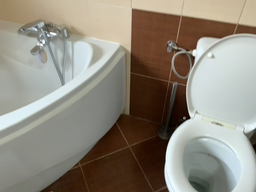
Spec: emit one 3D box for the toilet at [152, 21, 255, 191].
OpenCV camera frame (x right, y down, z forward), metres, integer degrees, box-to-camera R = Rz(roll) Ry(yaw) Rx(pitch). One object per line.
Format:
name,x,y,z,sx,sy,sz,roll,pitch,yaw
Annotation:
toilet,0.380,0.200,1.010,0.370,0.810,0.700,14,44,14
